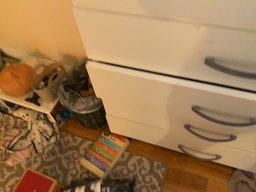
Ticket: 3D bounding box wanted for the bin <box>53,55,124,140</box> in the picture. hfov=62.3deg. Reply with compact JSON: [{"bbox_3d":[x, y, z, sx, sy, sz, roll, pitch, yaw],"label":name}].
[{"bbox_3d":[-0.160,0.010,0.990,0.190,0.260,0.260,13,58,12],"label":"bin"}]
